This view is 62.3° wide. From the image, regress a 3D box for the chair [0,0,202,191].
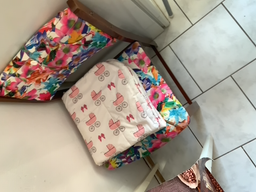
[{"bbox_3d":[-0.040,0.030,0.950,0.450,0.770,0.490,-37,80,21],"label":"chair"}]
